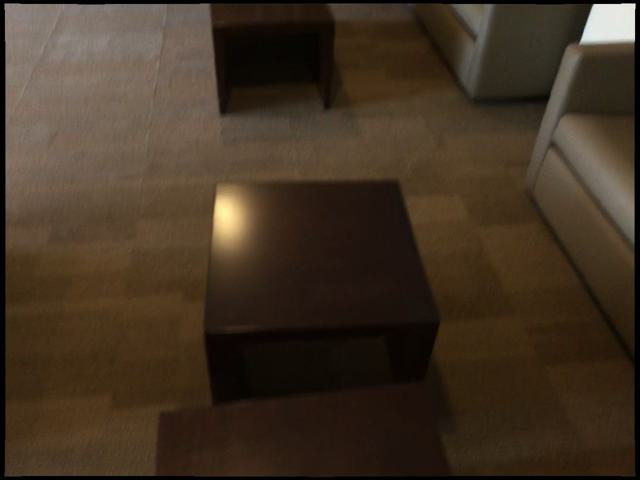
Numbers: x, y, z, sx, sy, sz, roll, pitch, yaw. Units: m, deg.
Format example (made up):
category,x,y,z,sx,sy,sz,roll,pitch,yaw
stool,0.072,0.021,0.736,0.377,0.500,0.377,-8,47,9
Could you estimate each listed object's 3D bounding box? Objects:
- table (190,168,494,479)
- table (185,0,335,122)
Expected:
category,x,y,z,sx,sy,sz,roll,pitch,yaw
table,0.000,0.190,1.550,0.629,0.420,0.651,-4,45,-8
table,-0.319,-1.062,2.820,0.599,0.430,1.051,-4,45,-8
